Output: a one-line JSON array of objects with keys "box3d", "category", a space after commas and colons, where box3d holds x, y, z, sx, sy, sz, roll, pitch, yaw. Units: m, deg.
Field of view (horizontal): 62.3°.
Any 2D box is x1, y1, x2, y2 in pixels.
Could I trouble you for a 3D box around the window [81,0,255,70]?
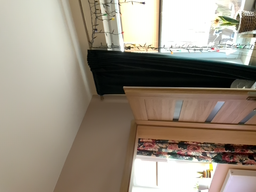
[{"box3d": [0.380, -1.080, 1.960, 0.210, 1.710, 1.890, -79, -13, -45], "category": "window"}]
